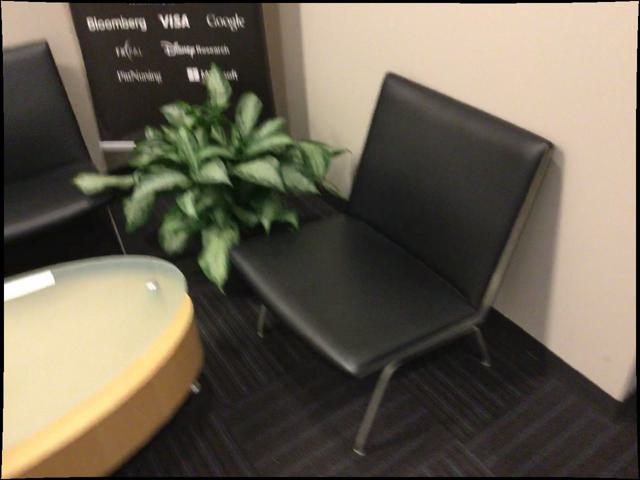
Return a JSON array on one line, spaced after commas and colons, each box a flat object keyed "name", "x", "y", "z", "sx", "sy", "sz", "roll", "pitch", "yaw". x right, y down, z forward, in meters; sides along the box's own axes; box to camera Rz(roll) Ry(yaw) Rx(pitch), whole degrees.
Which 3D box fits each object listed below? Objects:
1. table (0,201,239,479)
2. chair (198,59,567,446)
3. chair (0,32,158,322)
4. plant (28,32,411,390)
[{"name": "table", "x": -0.808, "y": 0.351, "z": 1.440, "sx": 1.019, "sy": 0.330, "sz": 0.570, "roll": -25, "pitch": 43, "yaw": -24}, {"name": "chair", "x": 0.150, "y": -0.010, "z": 1.660, "sx": 0.659, "sy": 0.681, "sz": 0.650, "roll": -25, "pitch": 43, "yaw": -24}, {"name": "chair", "x": -1.077, "y": -0.271, "z": 2.140, "sx": 0.549, "sy": 0.681, "sz": 0.730, "roll": -26, "pitch": 44, "yaw": -25}, {"name": "plant", "x": -0.319, "y": -0.180, "z": 1.990, "sx": 0.919, "sy": 0.641, "sz": 0.810, "roll": -26, "pitch": 44, "yaw": -25}]
